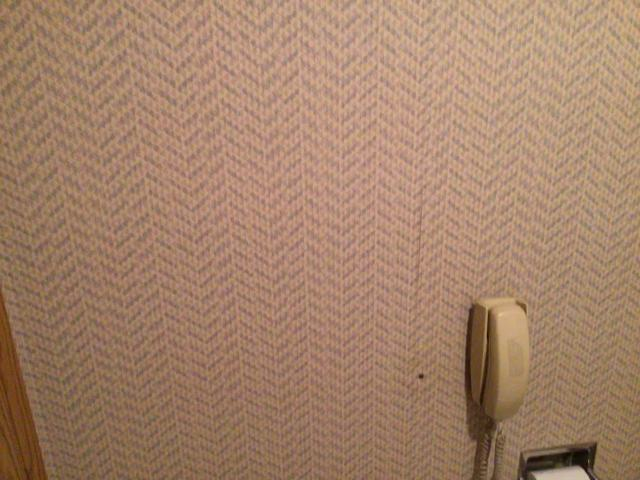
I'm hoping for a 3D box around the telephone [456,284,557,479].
[{"bbox_3d":[0.310,0.310,1.000,0.090,0.460,0.100,-2,19,-8],"label":"telephone"}]
